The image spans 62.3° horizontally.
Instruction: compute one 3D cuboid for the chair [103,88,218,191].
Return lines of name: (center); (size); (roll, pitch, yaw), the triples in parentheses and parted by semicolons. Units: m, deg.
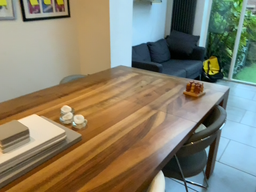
chair: (0.190, 0.410, 1.430); (0.540, 0.730, 0.440); (18, 28, 35)
